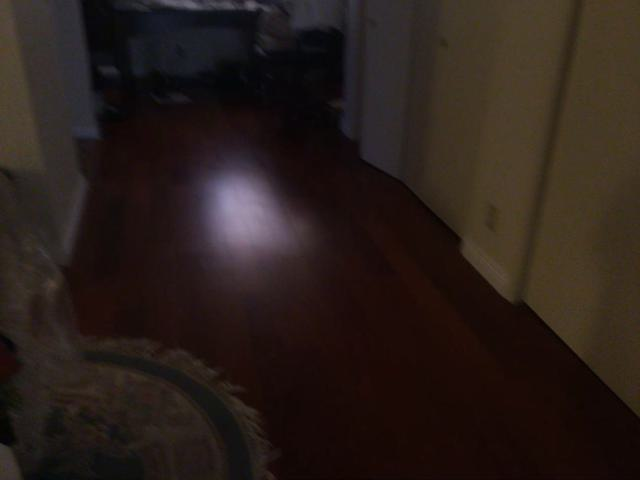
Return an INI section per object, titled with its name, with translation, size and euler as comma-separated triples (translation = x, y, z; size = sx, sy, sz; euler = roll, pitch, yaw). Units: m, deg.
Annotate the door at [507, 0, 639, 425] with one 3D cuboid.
[door]
translation = 0.990, -0.270, 1.670
size = 0.160, 1.560, 0.960
euler = -5, 27, -13
